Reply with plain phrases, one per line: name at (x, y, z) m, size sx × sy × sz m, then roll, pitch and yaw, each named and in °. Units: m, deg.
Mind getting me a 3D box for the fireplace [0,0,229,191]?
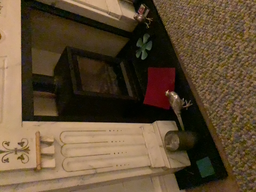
fireplace at (-0.440, -0.120, 1.480) m, size 0.970 × 1.290 × 1.750 m, roll -42°, pitch 54°, yaw 43°
